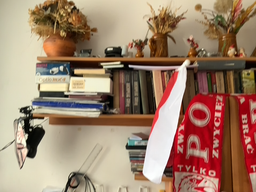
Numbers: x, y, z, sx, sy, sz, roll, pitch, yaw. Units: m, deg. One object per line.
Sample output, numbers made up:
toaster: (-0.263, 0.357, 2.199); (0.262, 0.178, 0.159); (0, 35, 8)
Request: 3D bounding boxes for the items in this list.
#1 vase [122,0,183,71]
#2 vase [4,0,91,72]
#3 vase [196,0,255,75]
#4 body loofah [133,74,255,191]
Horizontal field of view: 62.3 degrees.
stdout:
vase: (0.130, -0.300, 1.080); (0.280, 0.300, 0.170); (-1, -8, 16)
vase: (-0.390, -0.320, 1.080); (0.330, 0.350, 0.210); (0, -8, 8)
vase: (0.480, -0.300, 1.070); (0.210, 0.350, 0.210); (1, -8, 4)
body loofah: (0.340, 0.280, 0.930); (0.600, 0.690, 0.290); (0, -8, 9)
